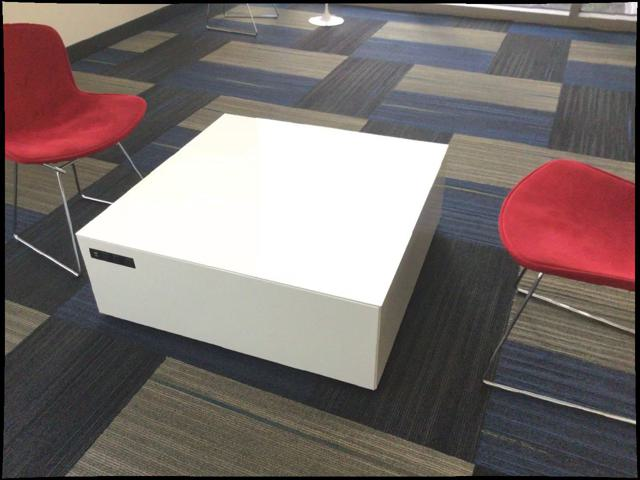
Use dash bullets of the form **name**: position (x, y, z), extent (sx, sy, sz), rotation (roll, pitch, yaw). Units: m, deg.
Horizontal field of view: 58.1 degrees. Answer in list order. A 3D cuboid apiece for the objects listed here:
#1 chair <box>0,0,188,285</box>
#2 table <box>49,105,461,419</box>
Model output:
- **chair**: position (-0.948, -0.381, 2.030), extent (0.619, 0.751, 0.580), rotation (14, 39, 19)
- **table**: position (-0.140, -0.040, 2.000), extent (0.998, 0.341, 1.000), rotation (14, 39, 19)
